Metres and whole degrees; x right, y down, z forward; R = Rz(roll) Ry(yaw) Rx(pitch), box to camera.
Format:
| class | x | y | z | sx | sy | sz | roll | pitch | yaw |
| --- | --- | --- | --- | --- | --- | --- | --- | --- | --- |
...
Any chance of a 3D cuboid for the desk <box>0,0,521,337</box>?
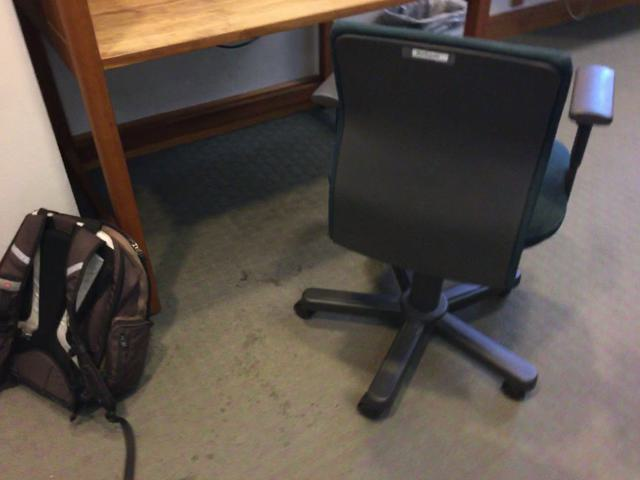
| class | x | y | z | sx | sy | sz | roll | pitch | yaw |
| --- | --- | --- | --- | --- | --- | --- | --- | --- | --- |
| desk | -0.270 | -0.810 | 1.780 | 1.370 | 1.500 | 1.060 | -19 | 42 | -21 |
